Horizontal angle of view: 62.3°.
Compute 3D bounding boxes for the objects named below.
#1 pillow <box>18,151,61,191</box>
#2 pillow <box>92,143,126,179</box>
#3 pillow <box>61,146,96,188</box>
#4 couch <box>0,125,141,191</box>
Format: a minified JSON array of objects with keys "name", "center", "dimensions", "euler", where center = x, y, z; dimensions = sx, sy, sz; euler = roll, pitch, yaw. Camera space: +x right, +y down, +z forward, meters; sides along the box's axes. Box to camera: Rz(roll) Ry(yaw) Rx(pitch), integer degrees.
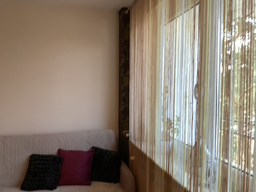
[{"name":"pillow","center":[-0.950,0.810,2.320],"dimensions":[0.420,0.330,0.210],"euler":[0,2,-17]},{"name":"pillow","center":[-0.230,0.770,2.540],"dimensions":[0.350,0.320,0.250],"euler":[0,2,-18]},{"name":"pillow","center":[-0.570,0.790,2.410],"dimensions":[0.360,0.340,0.270],"euler":[0,2,-17]},{"name":"couch","center":[-1.050,0.910,2.290],"dimensions":[2.140,0.930,1.030],"euler":[0,2,-17]}]
